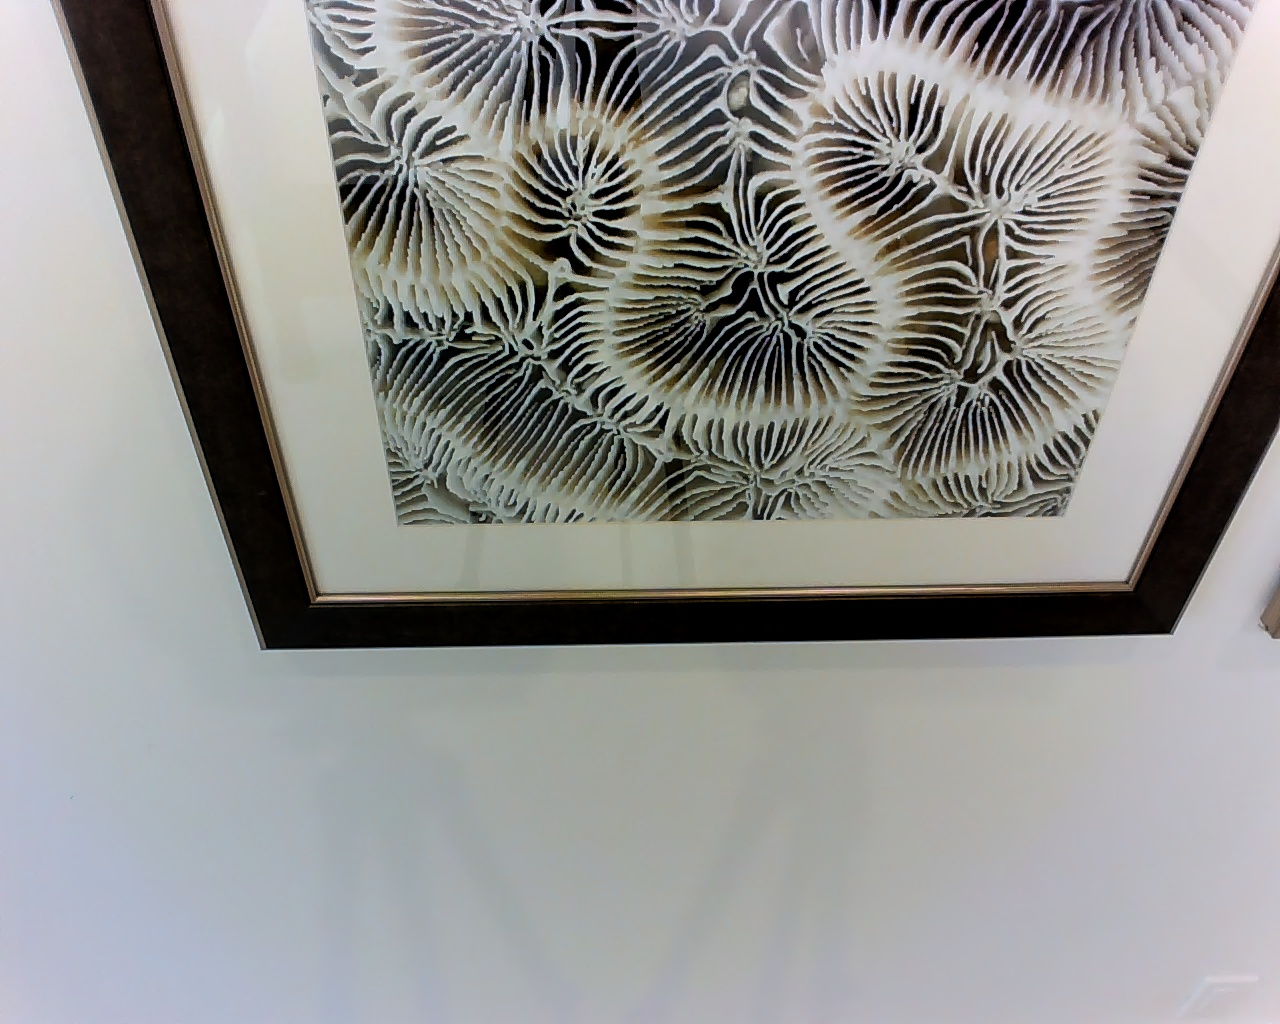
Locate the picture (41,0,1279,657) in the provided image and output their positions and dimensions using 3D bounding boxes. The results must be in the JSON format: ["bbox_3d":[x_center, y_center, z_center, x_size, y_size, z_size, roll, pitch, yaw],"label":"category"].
[{"bbox_3d":[0.100,-0.240,0.580,0.790,0.940,0.040,0,43,-2],"label":"picture"}]
